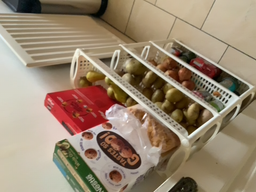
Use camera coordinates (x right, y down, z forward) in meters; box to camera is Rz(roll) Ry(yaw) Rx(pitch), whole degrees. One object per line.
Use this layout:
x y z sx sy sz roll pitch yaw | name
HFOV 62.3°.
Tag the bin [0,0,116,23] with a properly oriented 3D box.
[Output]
-0.520 -0.770 1.560 0.460 0.760 0.270 41 127 26 | bin
